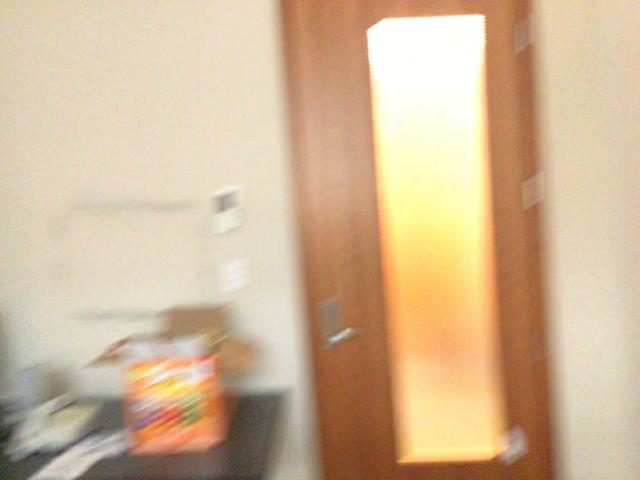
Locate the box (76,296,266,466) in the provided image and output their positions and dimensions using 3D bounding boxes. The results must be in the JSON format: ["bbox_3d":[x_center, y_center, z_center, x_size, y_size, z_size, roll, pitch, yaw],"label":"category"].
[{"bbox_3d":[-0.460,0.440,2.000,0.480,0.400,0.650,-2,1,0],"label":"box"}]

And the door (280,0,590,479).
[{"bbox_3d":[0.440,0.070,2.250,1.120,2.420,0.160,-2,1,0],"label":"door"}]
